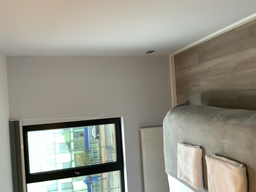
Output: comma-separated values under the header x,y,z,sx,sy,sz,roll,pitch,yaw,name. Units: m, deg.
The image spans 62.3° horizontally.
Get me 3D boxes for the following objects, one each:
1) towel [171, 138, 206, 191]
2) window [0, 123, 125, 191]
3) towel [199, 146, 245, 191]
x,y,z,sx,sy,sz,roll,pitch,yaw,name
0.550,0.630,1.970,0.380,0.110,0.400,173,94,-75,towel
-0.880,1.200,3.100,0.120,1.660,1.460,-177,85,-75,window
0.660,0.620,1.520,0.370,0.080,0.430,178,89,-75,towel
